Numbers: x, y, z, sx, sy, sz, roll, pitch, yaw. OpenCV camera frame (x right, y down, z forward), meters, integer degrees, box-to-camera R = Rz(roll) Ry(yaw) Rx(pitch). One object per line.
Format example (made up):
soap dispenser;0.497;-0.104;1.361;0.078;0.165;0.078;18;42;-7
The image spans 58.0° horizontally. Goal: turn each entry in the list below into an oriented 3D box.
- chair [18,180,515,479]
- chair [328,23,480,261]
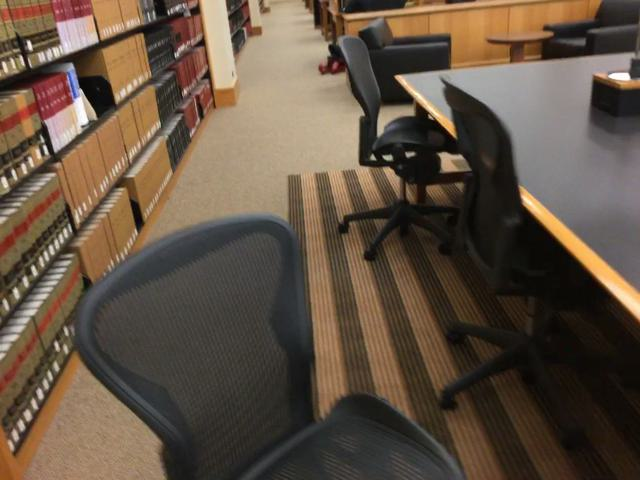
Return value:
chair;-0.080;0.460;1.180;0.690;0.940;0.520;19;35;41
chair;0.410;-0.510;2.960;0.620;1.040;0.550;-6;25;-1
